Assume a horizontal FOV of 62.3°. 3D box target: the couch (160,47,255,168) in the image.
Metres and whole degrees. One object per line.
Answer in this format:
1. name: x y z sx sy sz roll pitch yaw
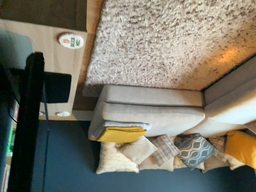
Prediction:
1. couch: 1.590 0.170 2.220 1.240 0.850 2.990 4 157 -17

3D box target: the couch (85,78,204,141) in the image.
1. couch: 0.120 0.260 2.780 1.210 0.460 1.050 4 157 -17
